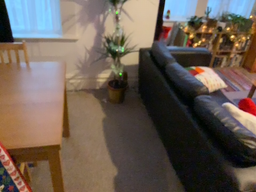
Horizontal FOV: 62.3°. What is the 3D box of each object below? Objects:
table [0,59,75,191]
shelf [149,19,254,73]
[{"bbox_3d":[-0.840,0.290,1.400,0.910,0.740,0.900,-3,34,-14],"label":"table"},{"bbox_3d":[1.190,-0.830,3.560,1.510,0.740,0.410,-2,34,-13],"label":"shelf"}]
